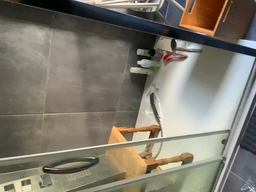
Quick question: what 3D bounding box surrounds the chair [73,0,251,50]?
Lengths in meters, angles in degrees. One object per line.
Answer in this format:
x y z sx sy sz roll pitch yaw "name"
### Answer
0.210 -0.530 1.140 0.420 0.850 0.370 32 115 52 "chair"
